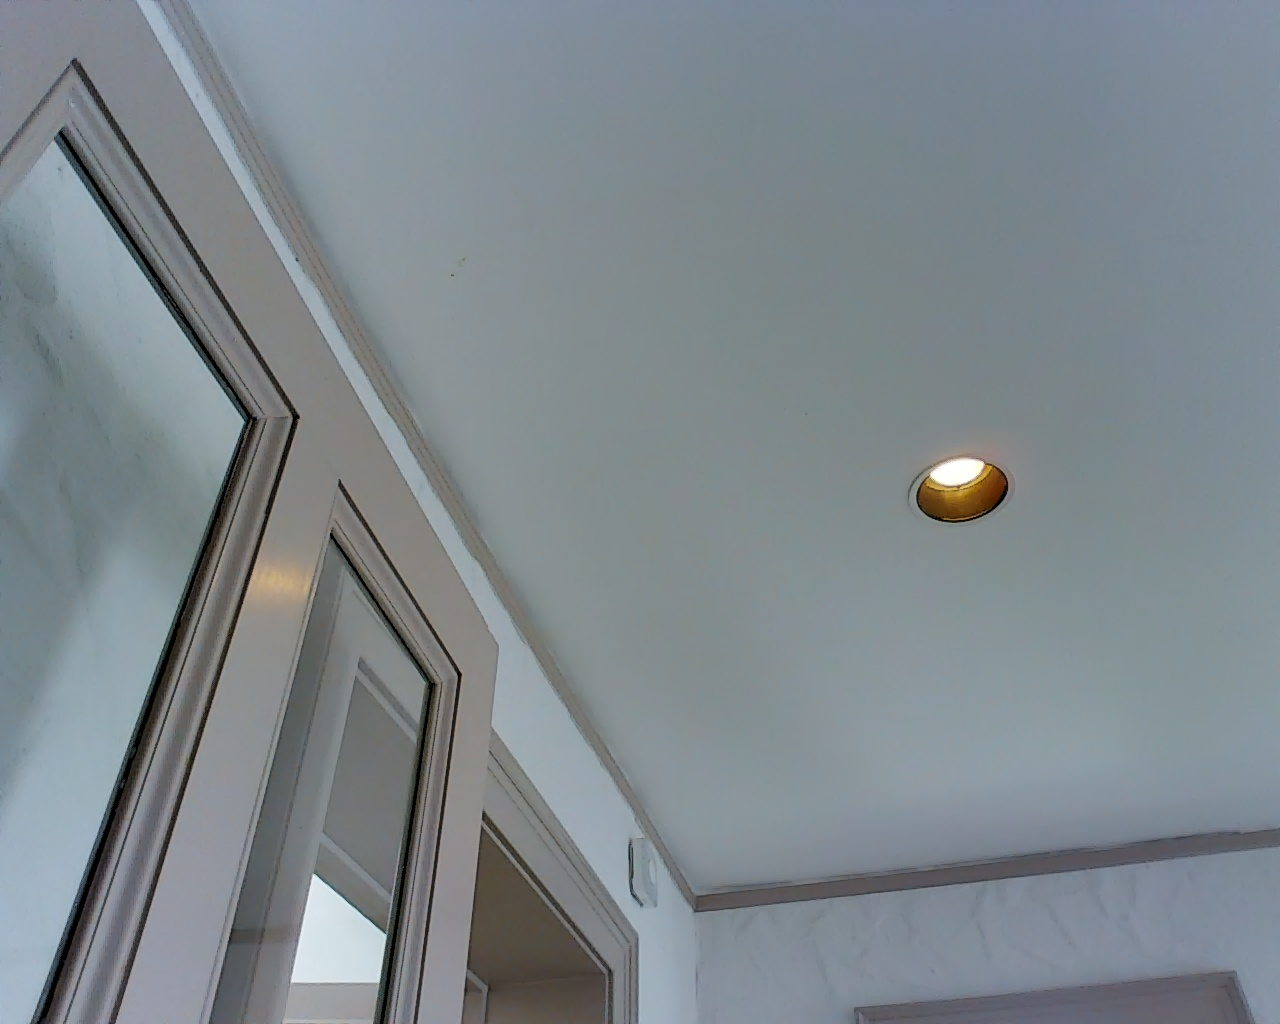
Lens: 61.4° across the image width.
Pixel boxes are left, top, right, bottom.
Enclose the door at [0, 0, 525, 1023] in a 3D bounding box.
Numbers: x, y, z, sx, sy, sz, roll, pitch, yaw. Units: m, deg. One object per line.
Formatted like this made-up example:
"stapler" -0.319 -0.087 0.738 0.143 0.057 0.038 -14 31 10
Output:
"door" -0.280 0.680 0.290 0.070 2.200 0.920 -9 -43 9
